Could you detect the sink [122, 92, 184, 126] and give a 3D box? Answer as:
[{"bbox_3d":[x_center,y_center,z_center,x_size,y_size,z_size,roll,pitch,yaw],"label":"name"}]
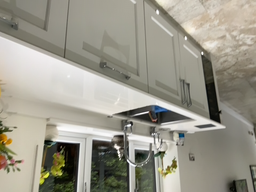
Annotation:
[{"bbox_3d":[0.230,0.140,1.930,0.360,0.160,0.460,-15,157,37],"label":"sink"}]
